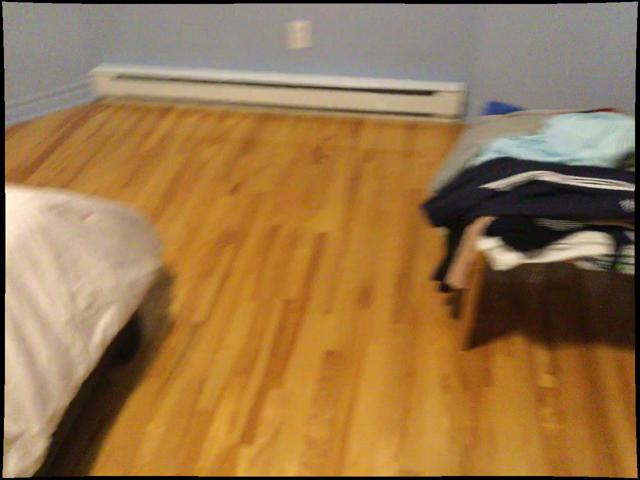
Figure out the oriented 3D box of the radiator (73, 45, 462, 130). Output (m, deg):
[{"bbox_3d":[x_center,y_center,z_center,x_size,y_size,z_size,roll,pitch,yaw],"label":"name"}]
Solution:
[{"bbox_3d":[-0.250,-0.681,2.550,1.678,0.280,0.120,5,41,9],"label":"radiator"}]
